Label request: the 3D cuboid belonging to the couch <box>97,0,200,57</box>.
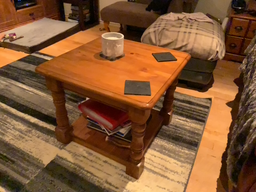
[{"bbox_3d":[0.230,-0.980,2.470,1.050,0.700,0.530,16,36,20],"label":"couch"}]
